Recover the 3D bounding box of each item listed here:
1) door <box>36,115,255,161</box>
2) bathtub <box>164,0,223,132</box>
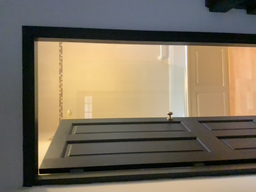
[{"bbox_3d":[0.360,0.290,1.720,0.720,1.910,0.040,-122,34,-74],"label":"door"},{"bbox_3d":[0.890,-0.460,3.040,0.670,0.570,1.840,168,102,-81],"label":"bathtub"}]
